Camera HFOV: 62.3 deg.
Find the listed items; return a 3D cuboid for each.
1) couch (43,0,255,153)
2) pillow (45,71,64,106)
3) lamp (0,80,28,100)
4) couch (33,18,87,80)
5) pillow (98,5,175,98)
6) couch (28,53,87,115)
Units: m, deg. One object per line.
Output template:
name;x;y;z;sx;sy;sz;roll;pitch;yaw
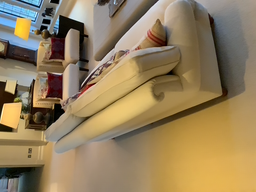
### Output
couch;-0.130;-0.100;2.310;2.240;0.930;1.100;-32;56;50
pillow;-1.480;-0.140;4.270;0.370;0.320;0.620;144;124;-63
lamp;-3.290;-0.160;6.130;0.410;0.650;0.390;-30;57;51
couch;-1.490;-0.960;4.650;0.900;0.880;0.810;-30;57;51
pillow;0.090;-0.280;1.690;0.800;0.430;0.270;70;-172;-69
couch;-1.440;-0.180;4.360;0.910;0.900;0.850;-30;57;51
